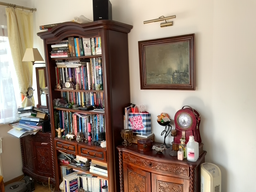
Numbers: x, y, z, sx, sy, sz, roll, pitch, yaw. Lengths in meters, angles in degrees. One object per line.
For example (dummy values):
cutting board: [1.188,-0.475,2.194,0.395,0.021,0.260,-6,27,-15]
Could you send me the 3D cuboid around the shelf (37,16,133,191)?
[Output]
shelf: [-0.490,0.250,2.470,0.970,2.040,0.430,4,9,34]
